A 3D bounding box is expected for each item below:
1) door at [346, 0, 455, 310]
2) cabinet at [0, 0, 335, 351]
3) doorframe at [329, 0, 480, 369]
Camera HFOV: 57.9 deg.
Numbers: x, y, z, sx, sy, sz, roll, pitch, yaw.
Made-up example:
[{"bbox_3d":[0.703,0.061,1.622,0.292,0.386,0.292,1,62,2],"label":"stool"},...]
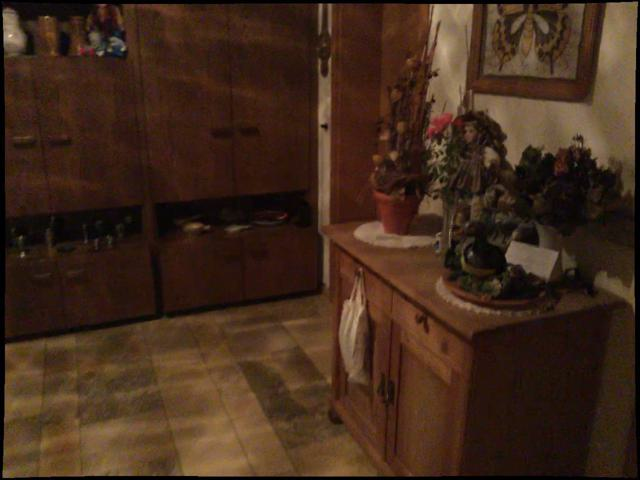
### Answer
[{"bbox_3d":[0.390,-0.651,3.130,0.120,1.872,0.840,-7,20,-21],"label":"door"},{"bbox_3d":[-1.778,-0.681,2.840,3.727,2.422,0.690,-7,20,-21],"label":"cabinet"},{"bbox_3d":[0.360,-0.480,2.940,0.290,2.032,0.880,-7,20,-21],"label":"doorframe"}]
